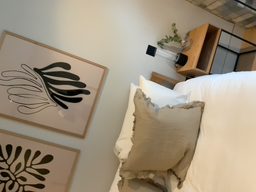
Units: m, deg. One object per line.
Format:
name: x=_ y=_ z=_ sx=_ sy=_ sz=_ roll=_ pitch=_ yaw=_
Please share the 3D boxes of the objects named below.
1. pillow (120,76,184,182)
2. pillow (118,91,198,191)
pillow: x=0.170 y=0.210 z=1.560 sx=0.210 sy=0.410 sz=0.710 roll=-168 pitch=77 yaw=-69
pillow: x=0.190 y=0.260 z=1.340 sx=0.220 sy=0.420 sz=0.560 roll=-3 pitch=90 yaw=64
